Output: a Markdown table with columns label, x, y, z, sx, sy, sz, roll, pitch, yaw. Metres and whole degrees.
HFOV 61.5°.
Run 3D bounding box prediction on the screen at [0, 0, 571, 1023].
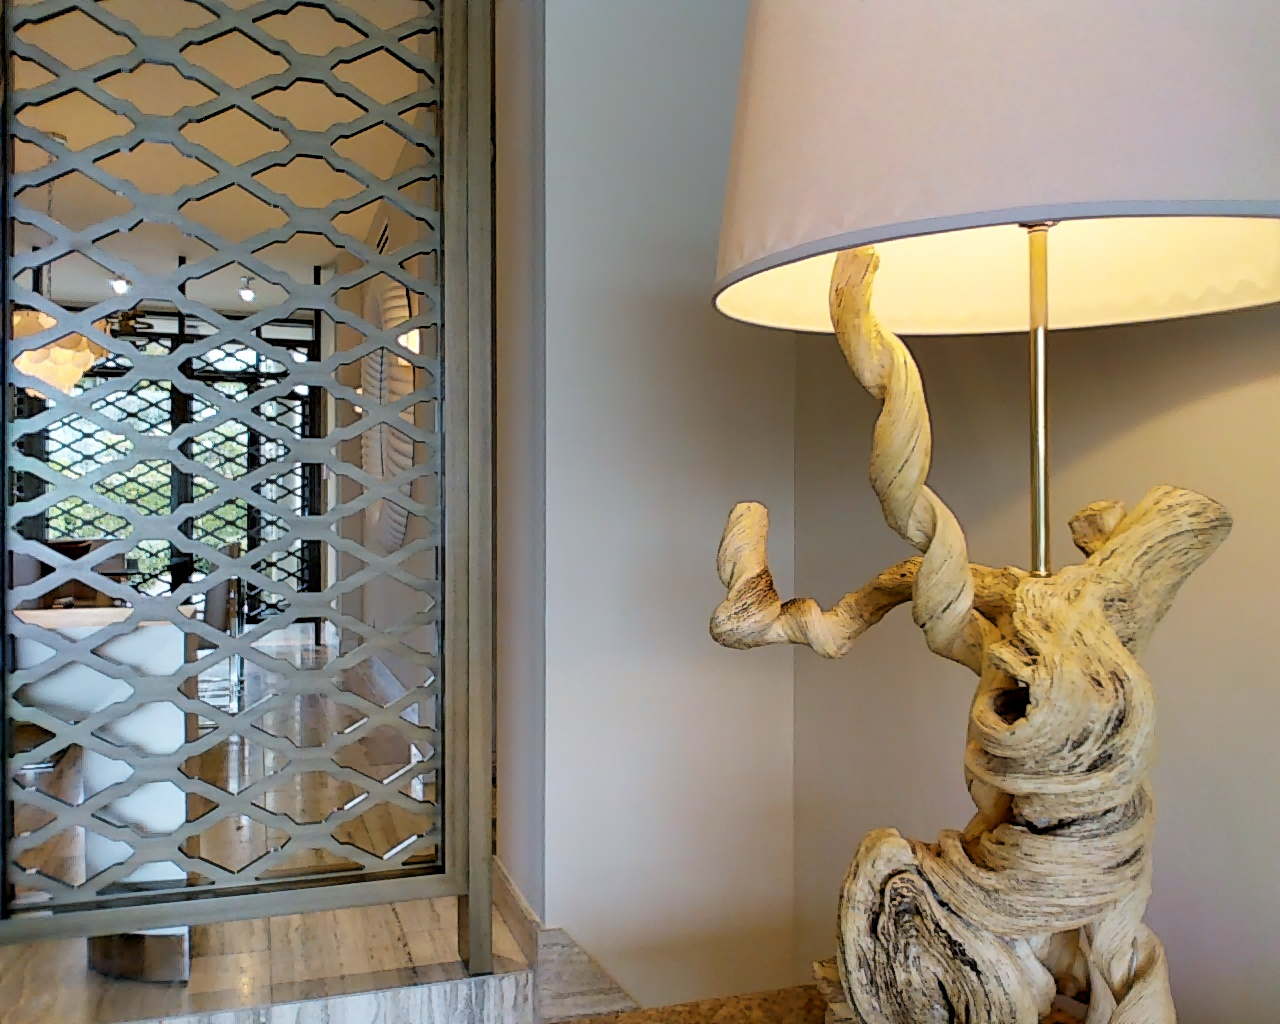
| label | x | y | z | sx | sy | sz | roll | pitch | yaw |
| --- | --- | --- | --- | --- | --- | --- | --- | --- | --- |
| screen | -1.760 | -0.500 | 1.910 | 3.330 | 3.140 | 0.220 | 0 | 0 | -19 |
